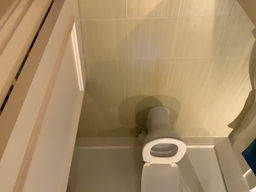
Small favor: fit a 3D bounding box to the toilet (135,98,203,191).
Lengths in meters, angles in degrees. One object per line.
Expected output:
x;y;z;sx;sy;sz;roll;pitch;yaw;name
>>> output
0.280;0.540;1.870;0.410;0.790;0.680;-1;140;1;toilet
